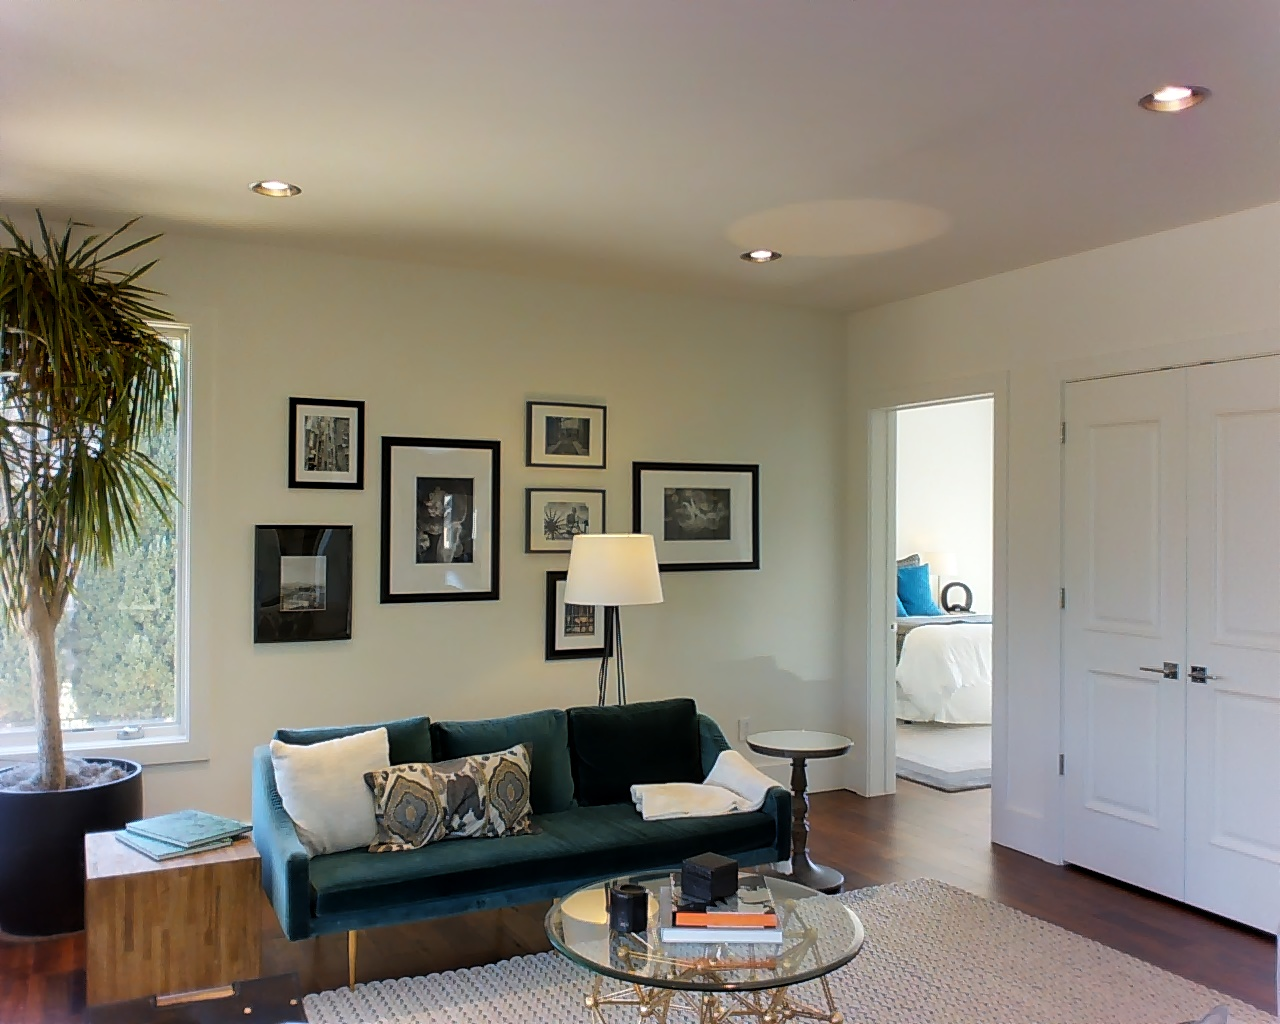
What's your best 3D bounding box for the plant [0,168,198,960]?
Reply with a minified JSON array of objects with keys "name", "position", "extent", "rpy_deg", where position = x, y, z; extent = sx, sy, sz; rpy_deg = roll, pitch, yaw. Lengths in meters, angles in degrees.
[{"name":"plant","position":[-2.220,0.180,4.080],"extent":[0.920,2.720,0.730],"rpy_deg":[1,0,-26]}]
